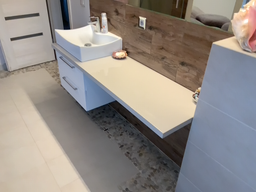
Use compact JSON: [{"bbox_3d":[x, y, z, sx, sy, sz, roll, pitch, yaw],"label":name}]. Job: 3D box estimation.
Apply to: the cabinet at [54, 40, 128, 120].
[{"bbox_3d":[-0.390,-0.200,2.160,0.440,0.500,0.640,-19,39,-33],"label":"cabinet"}]
